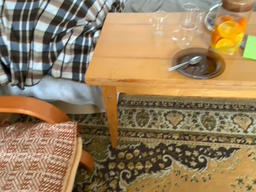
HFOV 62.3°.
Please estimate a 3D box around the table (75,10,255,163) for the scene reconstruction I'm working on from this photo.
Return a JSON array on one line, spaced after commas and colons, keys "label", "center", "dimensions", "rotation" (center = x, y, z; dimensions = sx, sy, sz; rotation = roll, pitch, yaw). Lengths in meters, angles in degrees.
[{"label": "table", "center": [0.500, -0.050, 1.100], "dimensions": [1.320, 0.560, 0.550], "rotation": [2, 47, 5]}]
